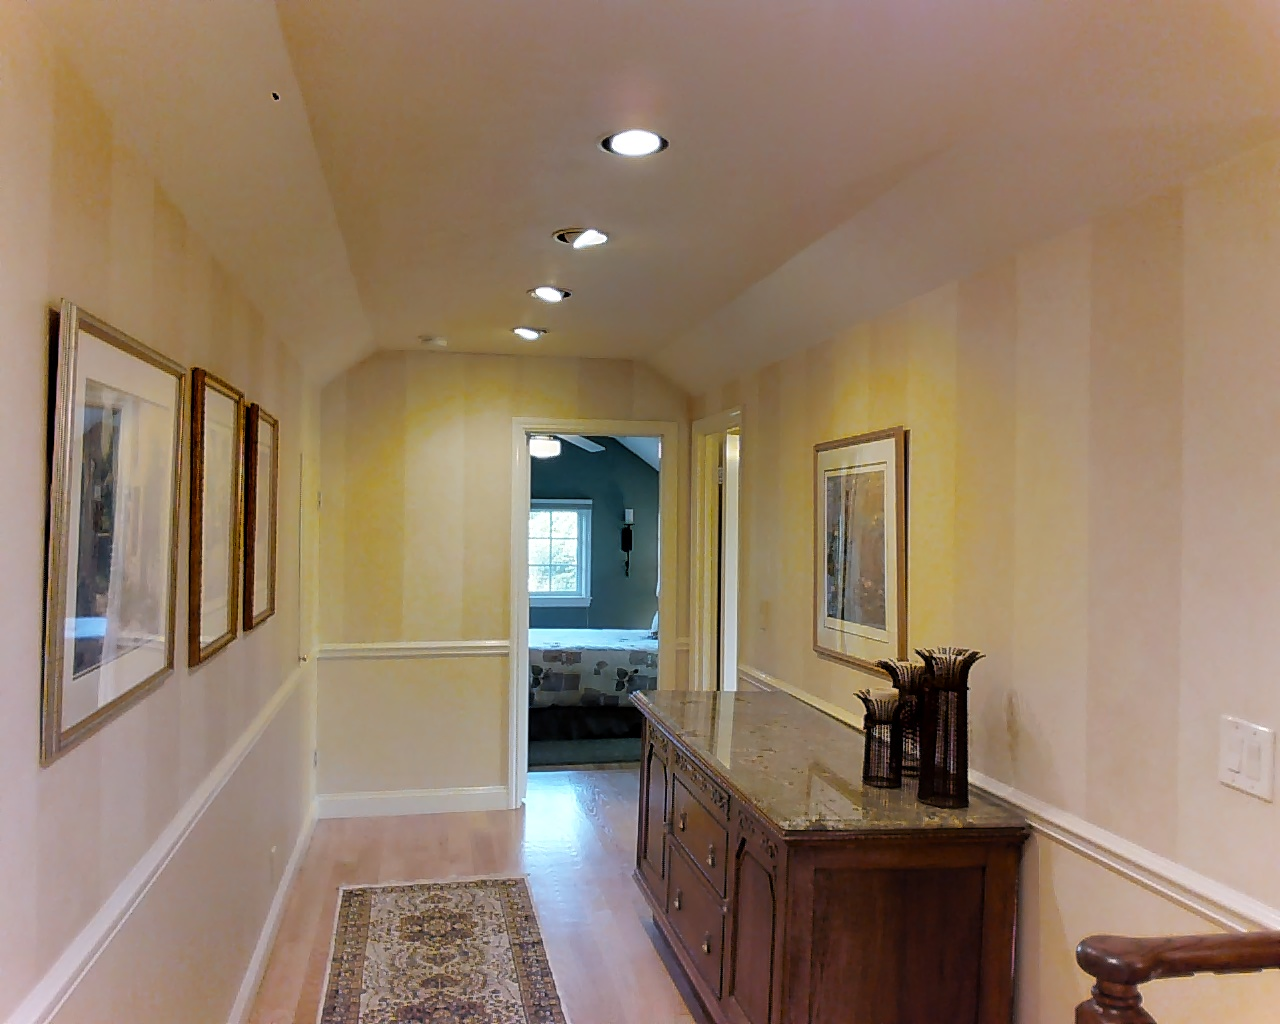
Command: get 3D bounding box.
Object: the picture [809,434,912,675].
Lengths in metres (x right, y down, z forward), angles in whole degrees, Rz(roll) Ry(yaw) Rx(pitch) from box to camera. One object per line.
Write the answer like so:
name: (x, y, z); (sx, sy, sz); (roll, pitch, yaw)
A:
picture: (0.730, 0.130, 3.650); (0.040, 0.730, 0.780); (1, 0, -11)

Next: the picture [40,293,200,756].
picture: (-0.890, 0.030, 1.900); (0.060, 0.660, 0.740); (1, -2, -11)
